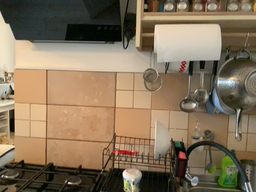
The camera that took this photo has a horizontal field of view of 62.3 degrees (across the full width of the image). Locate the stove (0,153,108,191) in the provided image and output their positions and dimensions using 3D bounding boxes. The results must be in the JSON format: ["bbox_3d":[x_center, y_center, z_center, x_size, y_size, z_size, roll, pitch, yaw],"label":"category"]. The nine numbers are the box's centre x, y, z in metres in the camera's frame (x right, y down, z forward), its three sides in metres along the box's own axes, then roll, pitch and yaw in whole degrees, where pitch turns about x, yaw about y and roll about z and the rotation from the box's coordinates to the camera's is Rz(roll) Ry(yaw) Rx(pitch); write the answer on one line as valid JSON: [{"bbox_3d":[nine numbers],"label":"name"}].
[{"bbox_3d":[-0.450,0.410,0.930,0.610,0.060,0.600,3,5,7],"label":"stove"}]
